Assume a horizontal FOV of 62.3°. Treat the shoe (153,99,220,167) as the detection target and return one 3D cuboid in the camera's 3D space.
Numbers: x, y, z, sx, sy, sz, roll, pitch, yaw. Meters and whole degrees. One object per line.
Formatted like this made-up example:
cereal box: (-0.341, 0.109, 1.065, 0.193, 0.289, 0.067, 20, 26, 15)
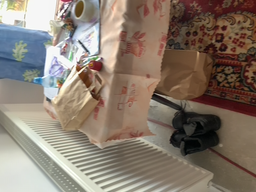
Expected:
shoe: (0.320, 0.190, 1.190, 0.260, 0.160, 0.280, 22, 104, 42)
